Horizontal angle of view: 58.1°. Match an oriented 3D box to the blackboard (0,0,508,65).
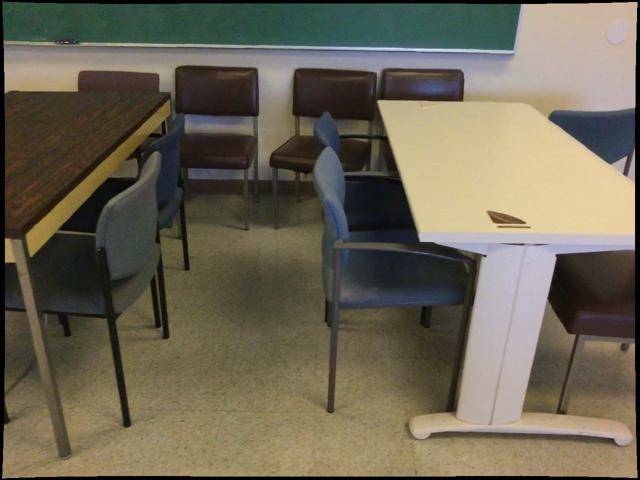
[{"bbox_3d":[-0.768,-1.494,3.020,3.521,1.052,0.170,1,26,0],"label":"blackboard"}]
